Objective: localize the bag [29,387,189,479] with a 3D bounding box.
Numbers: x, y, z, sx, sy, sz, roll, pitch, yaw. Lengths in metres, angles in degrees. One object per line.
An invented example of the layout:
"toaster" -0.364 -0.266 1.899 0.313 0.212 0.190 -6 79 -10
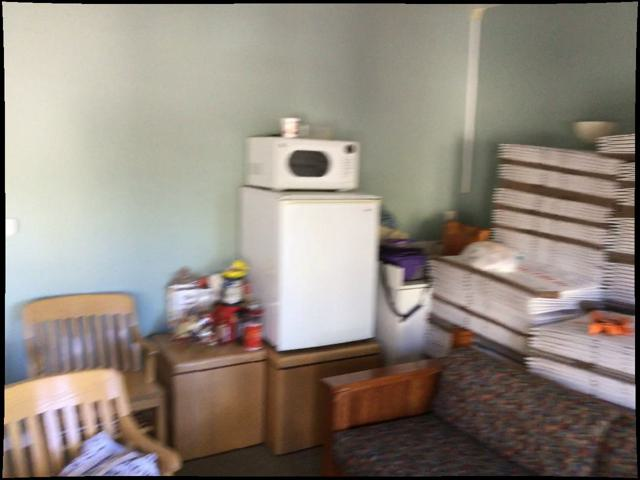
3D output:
"bag" -0.719 0.741 1.950 0.440 0.250 0.430 -5 12 -28
